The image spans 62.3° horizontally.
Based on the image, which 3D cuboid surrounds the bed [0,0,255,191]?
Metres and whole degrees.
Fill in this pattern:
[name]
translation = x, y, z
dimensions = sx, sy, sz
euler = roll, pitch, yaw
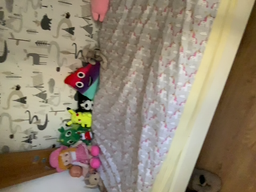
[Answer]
[bed]
translation = -0.320, -0.210, 1.030
dimensions = 1.050, 1.700, 2.170
euler = 36, 119, 47
